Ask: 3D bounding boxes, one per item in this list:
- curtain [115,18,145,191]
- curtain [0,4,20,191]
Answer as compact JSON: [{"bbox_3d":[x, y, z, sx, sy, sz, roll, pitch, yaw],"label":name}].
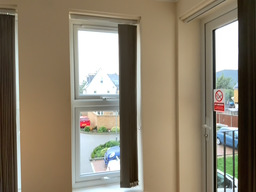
[{"bbox_3d":[0.020,0.080,1.980,0.230,1.540,0.140,-1,1,-15],"label":"curtain"},{"bbox_3d":[-1.020,0.090,1.710,0.210,1.590,0.190,-1,1,-16],"label":"curtain"}]
